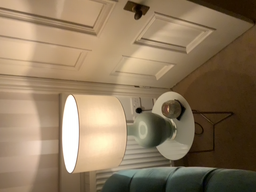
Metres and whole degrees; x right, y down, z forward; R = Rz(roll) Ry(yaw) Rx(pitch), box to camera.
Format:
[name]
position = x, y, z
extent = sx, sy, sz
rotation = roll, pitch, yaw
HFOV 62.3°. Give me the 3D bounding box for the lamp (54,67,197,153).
[lamp]
position = -0.050, 0.120, 1.300
extent = 0.520, 0.680, 0.330
rotation = -35, 58, 55
